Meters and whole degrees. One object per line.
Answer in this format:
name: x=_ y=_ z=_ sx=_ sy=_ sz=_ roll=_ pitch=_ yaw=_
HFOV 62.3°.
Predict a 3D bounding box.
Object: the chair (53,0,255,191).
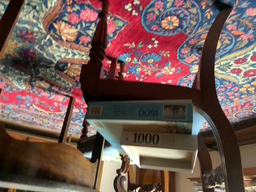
chair: x=0.100 y=0.110 z=0.810 sx=0.480 sy=0.910 sz=0.440 roll=2 pitch=154 yaw=9
